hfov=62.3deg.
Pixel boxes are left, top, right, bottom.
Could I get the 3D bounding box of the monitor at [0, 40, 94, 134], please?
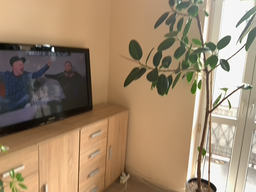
[{"bbox_3d":[-0.670,-0.120,1.810,0.060,0.640,1.090,10,14,29],"label":"monitor"}]
